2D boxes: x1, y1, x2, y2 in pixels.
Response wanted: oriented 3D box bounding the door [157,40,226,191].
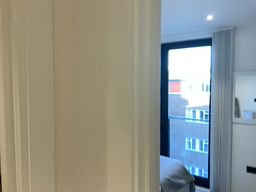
[{"bbox_3d":[1.070,0.320,3.750,1.110,2.430,0.240,2,4,35],"label":"door"}]
